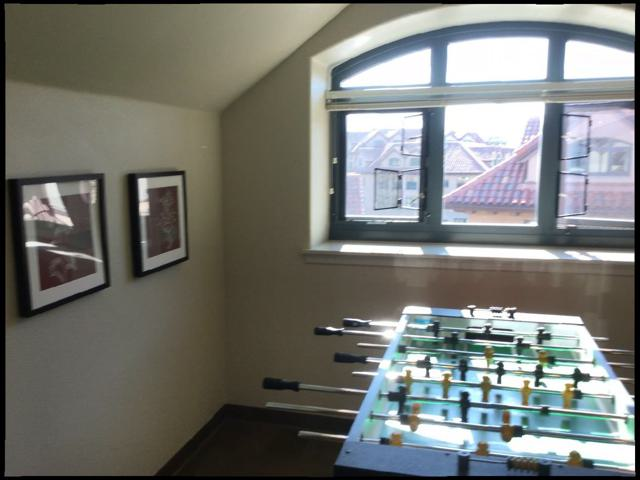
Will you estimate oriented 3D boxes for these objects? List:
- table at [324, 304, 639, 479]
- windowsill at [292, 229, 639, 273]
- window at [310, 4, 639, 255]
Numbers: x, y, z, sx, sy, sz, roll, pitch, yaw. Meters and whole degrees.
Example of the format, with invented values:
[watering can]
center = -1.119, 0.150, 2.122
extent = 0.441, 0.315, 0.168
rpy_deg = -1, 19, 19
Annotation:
[table]
center = 0.539, 0.872, 1.900
extent = 0.778, 0.922, 1.440
rpy_deg = 2, 9, 12
[windowsill]
center = 0.858, 0.050, 3.140
extent = 1.976, 0.080, 0.450
rpy_deg = 3, 9, 14
[window]
center = 0.938, -0.601, 3.250
extent = 1.966, 1.252, 0.300
rpy_deg = 3, 9, 14
